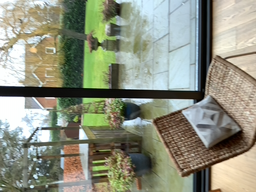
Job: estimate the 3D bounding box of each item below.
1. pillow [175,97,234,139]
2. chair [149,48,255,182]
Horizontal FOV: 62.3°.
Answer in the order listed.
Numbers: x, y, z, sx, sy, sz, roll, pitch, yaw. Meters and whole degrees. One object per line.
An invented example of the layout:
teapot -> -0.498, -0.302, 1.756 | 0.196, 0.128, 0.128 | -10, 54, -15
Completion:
pillow -> 0.630, 0.160, 1.740 | 0.410, 0.300, 0.080 | 42, 114, 30
chair -> 0.700, 0.120, 1.670 | 0.660, 0.740, 0.730 | -115, 31, -53
